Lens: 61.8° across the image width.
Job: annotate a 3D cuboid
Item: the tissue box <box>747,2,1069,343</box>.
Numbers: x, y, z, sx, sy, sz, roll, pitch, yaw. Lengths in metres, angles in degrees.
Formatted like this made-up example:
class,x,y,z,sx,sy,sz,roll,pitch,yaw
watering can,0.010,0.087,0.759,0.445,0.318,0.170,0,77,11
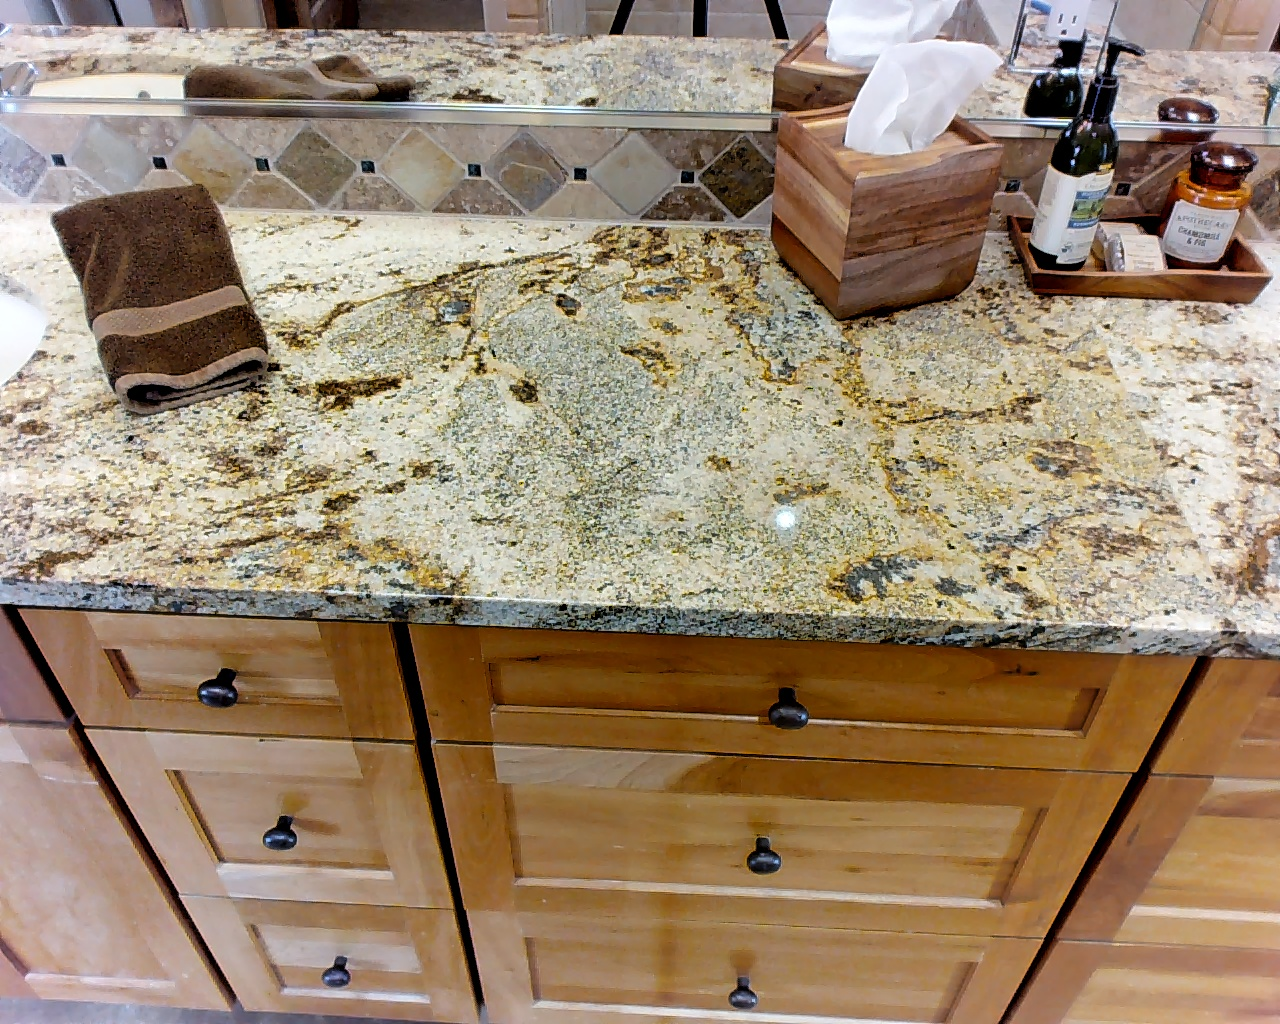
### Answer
class,x,y,z,sx,sy,sz,roll,pitch,yaw
tissue box,0.240,-0.330,1.030,0.190,0.230,0.200,-13,44,-15

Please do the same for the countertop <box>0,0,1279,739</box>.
class,x,y,z,sx,sy,sz,roll,pitch,yaw
countertop,0.450,-0.190,0.960,3.681,0.290,0.740,2,42,2

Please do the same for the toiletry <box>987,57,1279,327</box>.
class,x,y,z,sx,sy,sz,roll,pitch,yaw
toiletry,0.510,-0.310,1.040,0.270,0.200,0.150,2,42,2
